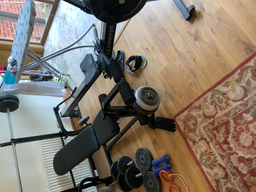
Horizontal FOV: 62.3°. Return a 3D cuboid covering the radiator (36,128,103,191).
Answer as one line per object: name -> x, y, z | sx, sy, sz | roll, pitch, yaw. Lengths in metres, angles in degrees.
radiator -> -0.600, 1.220, 2.530 | 0.100, 0.630, 1.710 | -46, 58, 41
